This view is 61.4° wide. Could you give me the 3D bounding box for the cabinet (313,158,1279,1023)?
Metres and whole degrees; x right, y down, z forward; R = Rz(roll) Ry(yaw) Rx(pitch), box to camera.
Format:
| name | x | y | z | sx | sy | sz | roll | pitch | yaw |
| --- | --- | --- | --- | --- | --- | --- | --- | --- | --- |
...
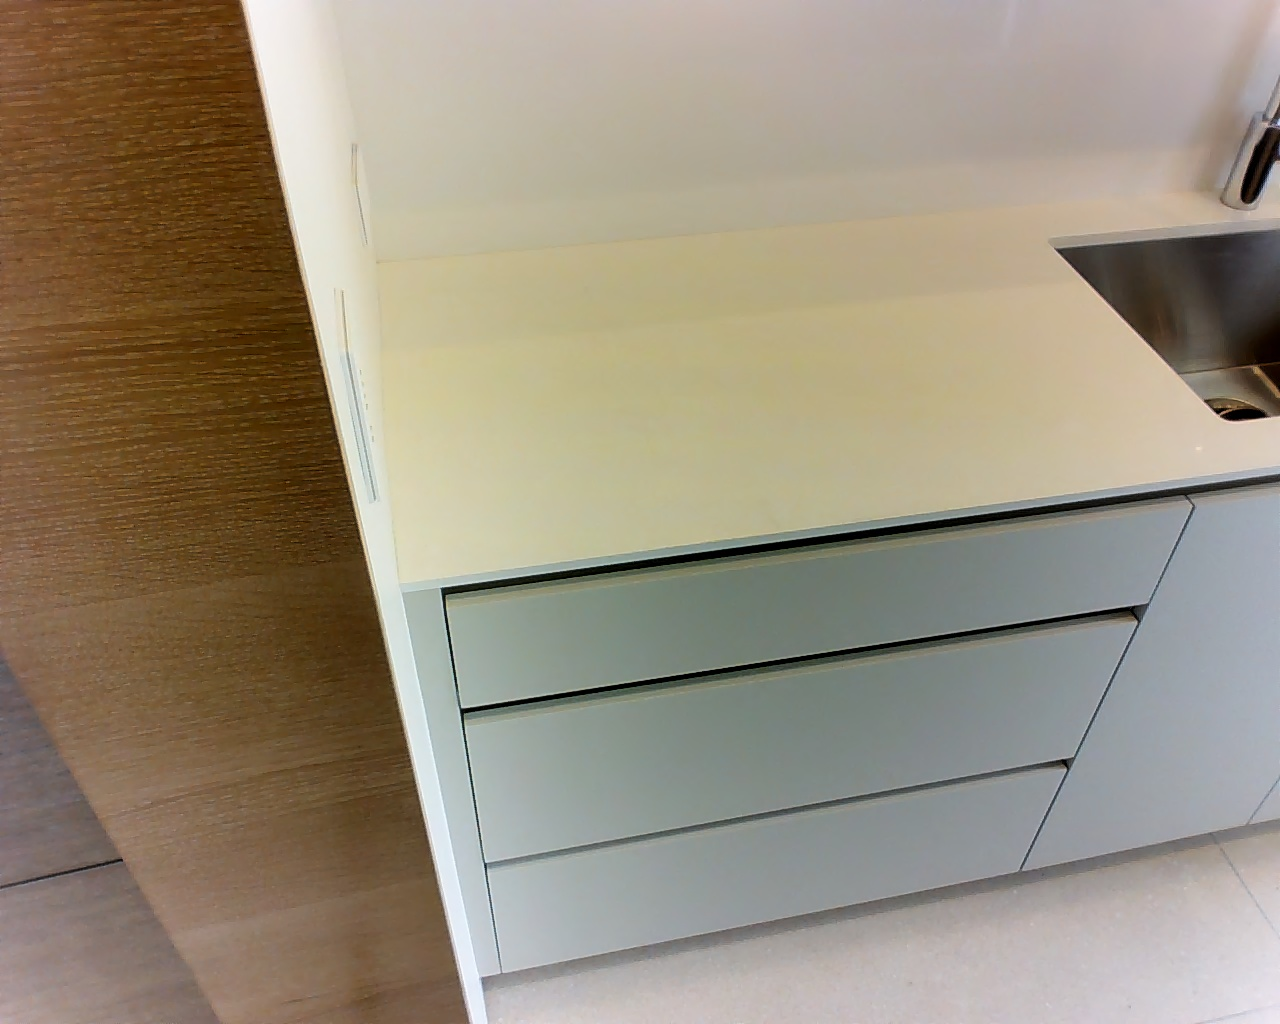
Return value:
| name | x | y | z | sx | sy | sz | roll | pitch | yaw |
| --- | --- | --- | --- | --- | --- | --- | --- | --- | --- |
| cabinet | 0.880 | 0.040 | 1.720 | 2.550 | 0.960 | 0.620 | -8 | 43 | -10 |
